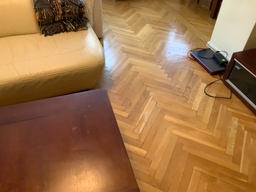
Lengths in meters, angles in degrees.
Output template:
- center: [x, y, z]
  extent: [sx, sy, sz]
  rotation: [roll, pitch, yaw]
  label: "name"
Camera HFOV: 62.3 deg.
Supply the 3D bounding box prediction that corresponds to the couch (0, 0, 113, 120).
- center: [-0.790, -0.550, 1.800]
  extent: [1.080, 0.950, 0.970]
  rotation: [-12, 46, -15]
  label: "couch"
